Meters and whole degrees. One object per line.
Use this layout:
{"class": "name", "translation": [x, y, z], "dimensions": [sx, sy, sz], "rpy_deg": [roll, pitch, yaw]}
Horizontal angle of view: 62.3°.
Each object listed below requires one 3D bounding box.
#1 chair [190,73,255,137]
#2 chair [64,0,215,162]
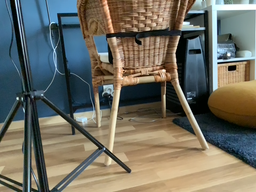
{"class": "chair", "translation": [0.890, 0.000, 1.330], "dimensions": [0.760, 0.220, 0.580], "rpy_deg": [-7, 10, -15]}
{"class": "chair", "translation": [0.030, -0.180, 1.180], "dimensions": [0.580, 0.750, 0.690], "rpy_deg": [-5, 10, -6]}
